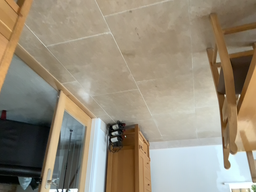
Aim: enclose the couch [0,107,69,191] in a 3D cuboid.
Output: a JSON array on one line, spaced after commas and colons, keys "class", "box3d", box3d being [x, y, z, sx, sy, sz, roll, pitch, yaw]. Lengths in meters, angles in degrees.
[{"class": "couch", "box3d": [-1.630, 0.890, 3.200, 1.050, 0.980, 0.910, 20, 145, -31]}]
